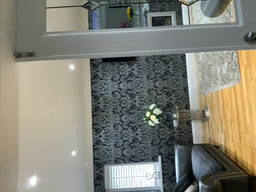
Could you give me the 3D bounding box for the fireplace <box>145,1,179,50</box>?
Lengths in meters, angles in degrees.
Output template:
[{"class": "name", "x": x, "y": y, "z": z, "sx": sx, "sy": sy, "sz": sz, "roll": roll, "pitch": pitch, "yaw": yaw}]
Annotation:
[{"class": "fireplace", "x": 0.720, "y": -1.520, "z": 4.640, "sx": 0.380, "sy": 0.620, "sz": 0.920, "roll": 102, "pitch": 165, "yaw": -86}]
